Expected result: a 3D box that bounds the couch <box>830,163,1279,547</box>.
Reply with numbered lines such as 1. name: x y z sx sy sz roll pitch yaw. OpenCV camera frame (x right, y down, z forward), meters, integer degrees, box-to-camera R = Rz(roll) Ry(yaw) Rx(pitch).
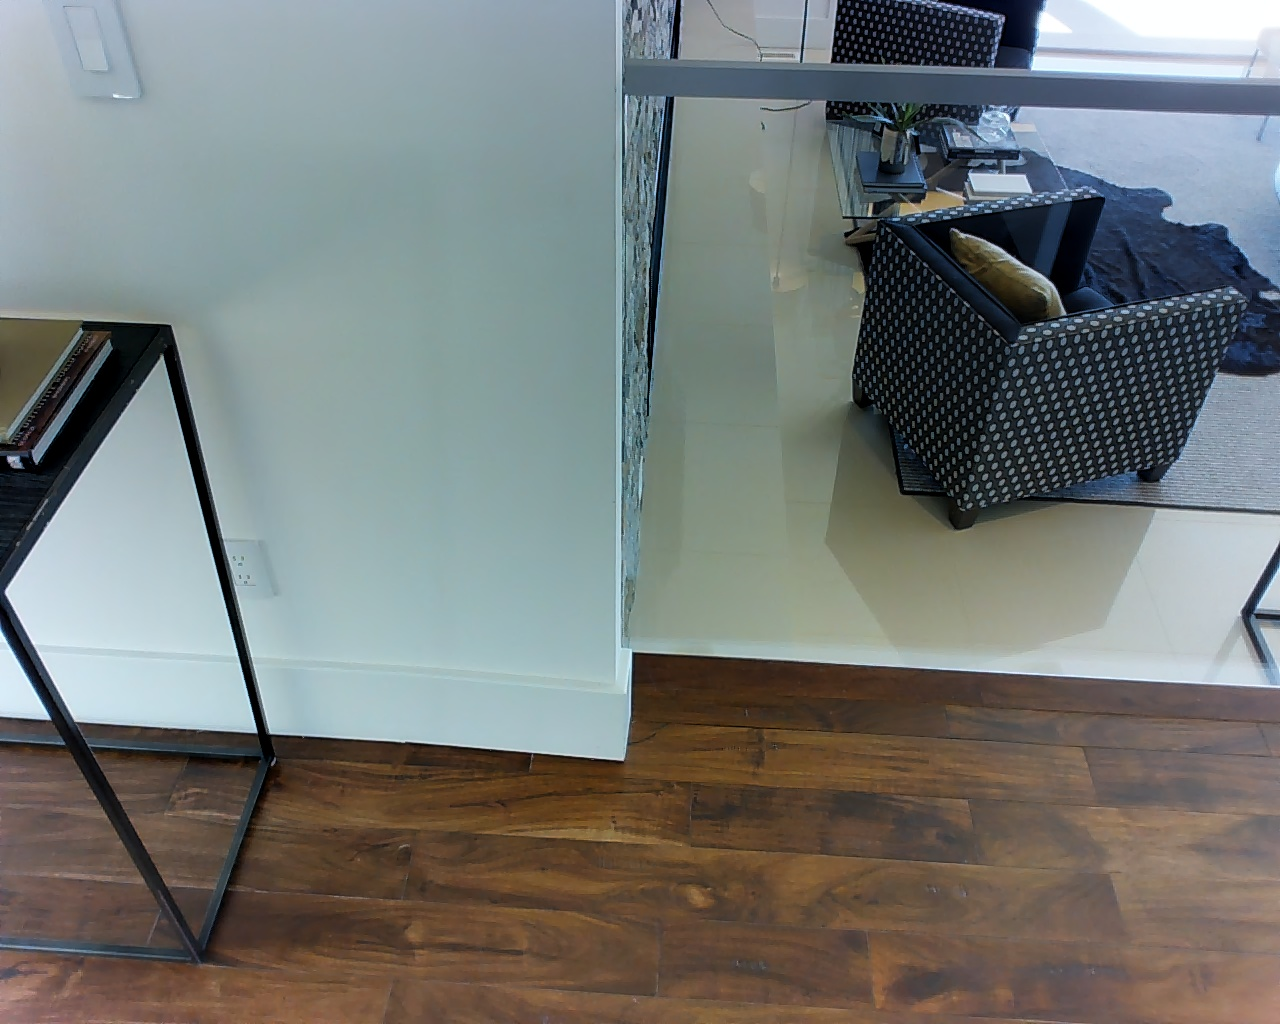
1. couch: 1.360 -0.570 3.710 1.010 0.810 0.880 -13 44 -14
